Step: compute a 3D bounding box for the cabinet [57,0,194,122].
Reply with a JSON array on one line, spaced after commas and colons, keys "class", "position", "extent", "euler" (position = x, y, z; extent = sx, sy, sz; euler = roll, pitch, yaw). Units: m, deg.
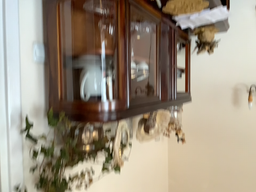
[{"class": "cabinet", "position": [0.150, -0.230, 1.510], "extent": [0.330, 0.610, 1.380], "euler": [2, -177, 29]}]

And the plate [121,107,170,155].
[{"class": "plate", "position": [0.140, 0.220, 1.490], "extent": [0.190, 0.240, 0.430], "euler": [1, -177, 27]}]
